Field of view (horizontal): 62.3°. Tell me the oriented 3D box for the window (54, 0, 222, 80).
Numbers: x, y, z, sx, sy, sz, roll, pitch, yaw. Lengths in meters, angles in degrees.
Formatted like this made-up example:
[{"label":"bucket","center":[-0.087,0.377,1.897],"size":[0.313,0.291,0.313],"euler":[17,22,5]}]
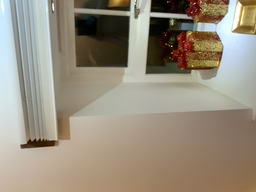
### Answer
[{"label":"window","center":[0.090,-0.510,1.380],"size":[0.080,1.070,0.810],"euler":[-125,36,-67]}]
